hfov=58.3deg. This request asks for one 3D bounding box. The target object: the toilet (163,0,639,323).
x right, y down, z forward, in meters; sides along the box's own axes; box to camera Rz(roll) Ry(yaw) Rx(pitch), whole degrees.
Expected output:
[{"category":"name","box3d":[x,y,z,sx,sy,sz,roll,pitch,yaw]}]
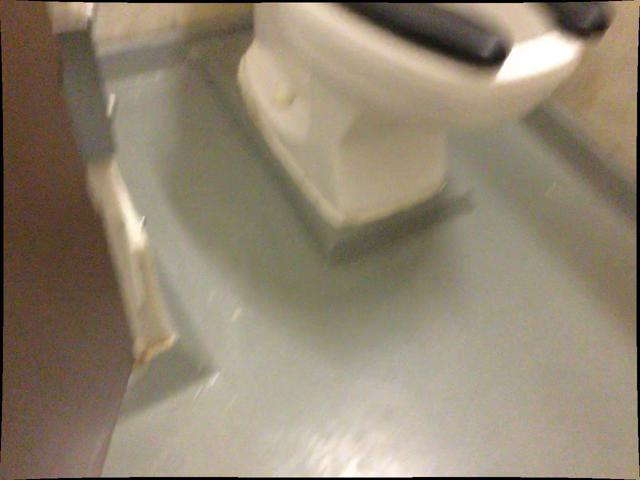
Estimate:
[{"category":"toilet","box3d":[0.050,-0.340,0.950,0.390,0.460,0.730,-19,56,-24]}]
